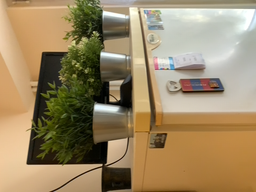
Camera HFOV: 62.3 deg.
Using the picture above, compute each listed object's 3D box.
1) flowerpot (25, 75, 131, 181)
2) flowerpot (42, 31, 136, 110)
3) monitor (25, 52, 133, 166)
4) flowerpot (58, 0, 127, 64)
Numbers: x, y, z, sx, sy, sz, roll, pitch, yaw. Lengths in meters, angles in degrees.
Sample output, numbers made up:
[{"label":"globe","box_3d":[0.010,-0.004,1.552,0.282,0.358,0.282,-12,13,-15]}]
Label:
[{"label":"flowerpot","box_3d":[-0.100,0.080,0.560,0.210,0.210,0.180,-91,1,-47]},{"label":"flowerpot","box_3d":[-0.110,-0.090,0.730,0.200,0.260,0.190,-91,1,-48]},{"label":"monitor","box_3d":[-0.170,0.030,0.820,0.020,0.370,0.450,91,179,-69]},{"label":"flowerpot","box_3d":[-0.120,-0.250,0.830,0.210,0.230,0.130,90,179,-45]}]
